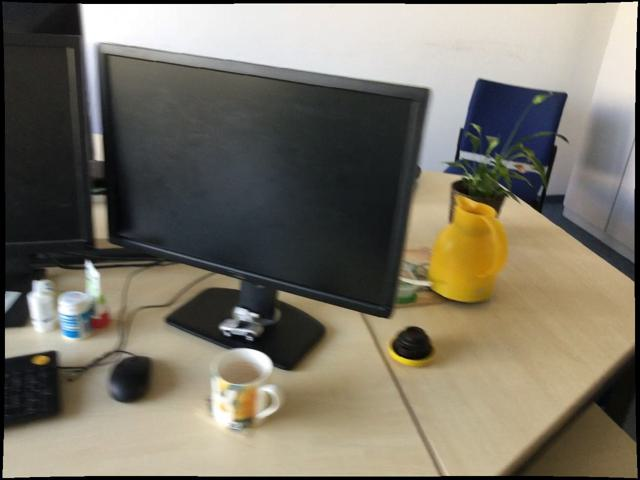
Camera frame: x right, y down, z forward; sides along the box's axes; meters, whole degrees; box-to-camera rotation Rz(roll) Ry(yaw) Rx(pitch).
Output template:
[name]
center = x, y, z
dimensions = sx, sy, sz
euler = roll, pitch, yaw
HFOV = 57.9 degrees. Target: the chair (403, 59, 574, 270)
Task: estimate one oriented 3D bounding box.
[chair]
center = 0.819, -0.400, 2.810
dimensions = 0.540, 0.761, 0.670
euler = 16, 30, 22
